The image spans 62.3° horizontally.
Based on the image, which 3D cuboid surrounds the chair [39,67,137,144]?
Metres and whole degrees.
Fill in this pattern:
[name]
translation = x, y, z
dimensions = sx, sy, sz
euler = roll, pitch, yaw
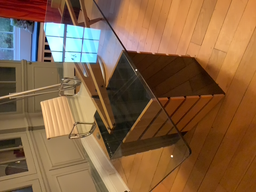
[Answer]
[chair]
translation = -0.460, 0.090, 2.330
dimensions = 0.570, 0.820, 0.530
euler = -56, 48, 43
